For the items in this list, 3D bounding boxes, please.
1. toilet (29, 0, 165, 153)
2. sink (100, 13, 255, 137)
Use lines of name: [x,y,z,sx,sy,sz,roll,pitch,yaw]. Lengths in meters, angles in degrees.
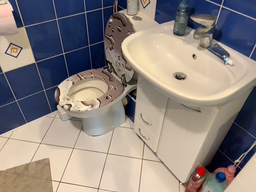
toilet: [-0.180,-0.130,1.480,0.650,0.800,0.410,-26,51,-27]
sink: [0.220,-0.160,0.970,0.440,0.130,0.600,-26,51,-27]
